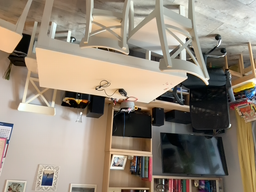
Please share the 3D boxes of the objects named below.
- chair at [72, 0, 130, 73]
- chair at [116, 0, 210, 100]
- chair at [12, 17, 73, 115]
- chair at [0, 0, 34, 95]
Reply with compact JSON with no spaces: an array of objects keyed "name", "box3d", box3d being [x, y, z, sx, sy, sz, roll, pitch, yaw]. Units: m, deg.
[{"name":"chair","box3d":[-0.200,-0.640,1.620,0.330,0.790,0.400,7,161,-14]},{"name":"chair","box3d":[0.250,-0.520,1.710,0.420,0.930,0.550,13,158,-29]},{"name":"chair","box3d":[-0.990,-0.310,2.480,0.470,0.920,0.540,11,159,-24]},{"name":"chair","box3d":[-1.230,-0.550,1.820,0.560,0.910,0.410,18,156,-38]}]
